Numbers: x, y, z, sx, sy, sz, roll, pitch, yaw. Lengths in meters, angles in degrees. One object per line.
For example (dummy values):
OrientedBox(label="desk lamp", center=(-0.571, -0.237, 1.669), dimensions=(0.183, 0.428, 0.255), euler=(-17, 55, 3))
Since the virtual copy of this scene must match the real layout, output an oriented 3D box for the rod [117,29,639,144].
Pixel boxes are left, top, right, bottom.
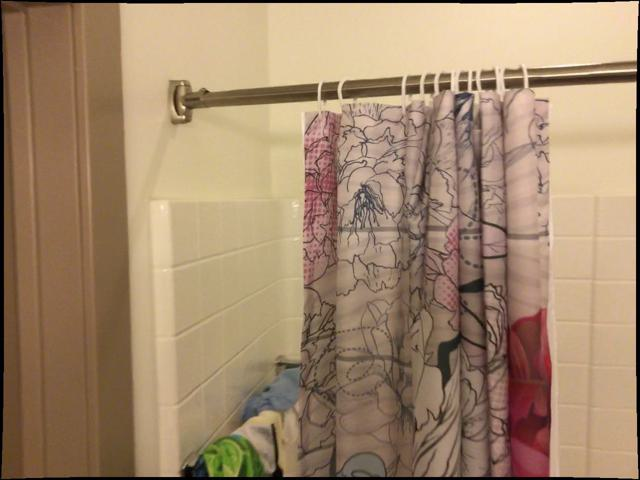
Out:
OrientedBox(label="rod", center=(0.140, -0.211, 0.830), dimensions=(0.828, 0.090, 0.190), euler=(-1, 8, 12))
